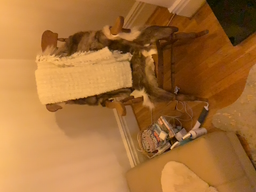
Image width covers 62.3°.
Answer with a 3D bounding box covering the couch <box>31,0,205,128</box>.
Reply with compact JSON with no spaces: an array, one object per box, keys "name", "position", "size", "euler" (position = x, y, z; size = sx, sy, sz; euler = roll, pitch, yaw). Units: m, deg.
[{"name":"couch","position":[-0.080,-0.220,1.690],"size":[0.830,1.090,0.660],"euler":[5,98,55]}]
